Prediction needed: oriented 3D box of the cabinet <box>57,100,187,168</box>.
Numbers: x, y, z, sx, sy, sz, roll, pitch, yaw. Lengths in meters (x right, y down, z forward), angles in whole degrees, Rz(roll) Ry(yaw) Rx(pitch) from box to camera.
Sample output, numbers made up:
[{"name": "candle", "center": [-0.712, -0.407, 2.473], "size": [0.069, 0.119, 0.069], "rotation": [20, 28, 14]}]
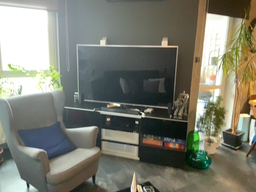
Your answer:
[{"name": "cabinet", "center": [-0.100, 0.500, 3.200], "size": [1.840, 0.620, 0.530], "rotation": [6, 12, 16]}]

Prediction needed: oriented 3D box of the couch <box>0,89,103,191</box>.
[{"name": "couch", "center": [-0.850, 0.490, 2.320], "size": [0.910, 0.950, 0.680], "rotation": [8, 13, 28]}]

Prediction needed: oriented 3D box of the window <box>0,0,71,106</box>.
[{"name": "window", "center": [-1.870, -0.700, 3.060], "size": [2.000, 1.690, 0.190], "rotation": [-5, 14, -30]}]
